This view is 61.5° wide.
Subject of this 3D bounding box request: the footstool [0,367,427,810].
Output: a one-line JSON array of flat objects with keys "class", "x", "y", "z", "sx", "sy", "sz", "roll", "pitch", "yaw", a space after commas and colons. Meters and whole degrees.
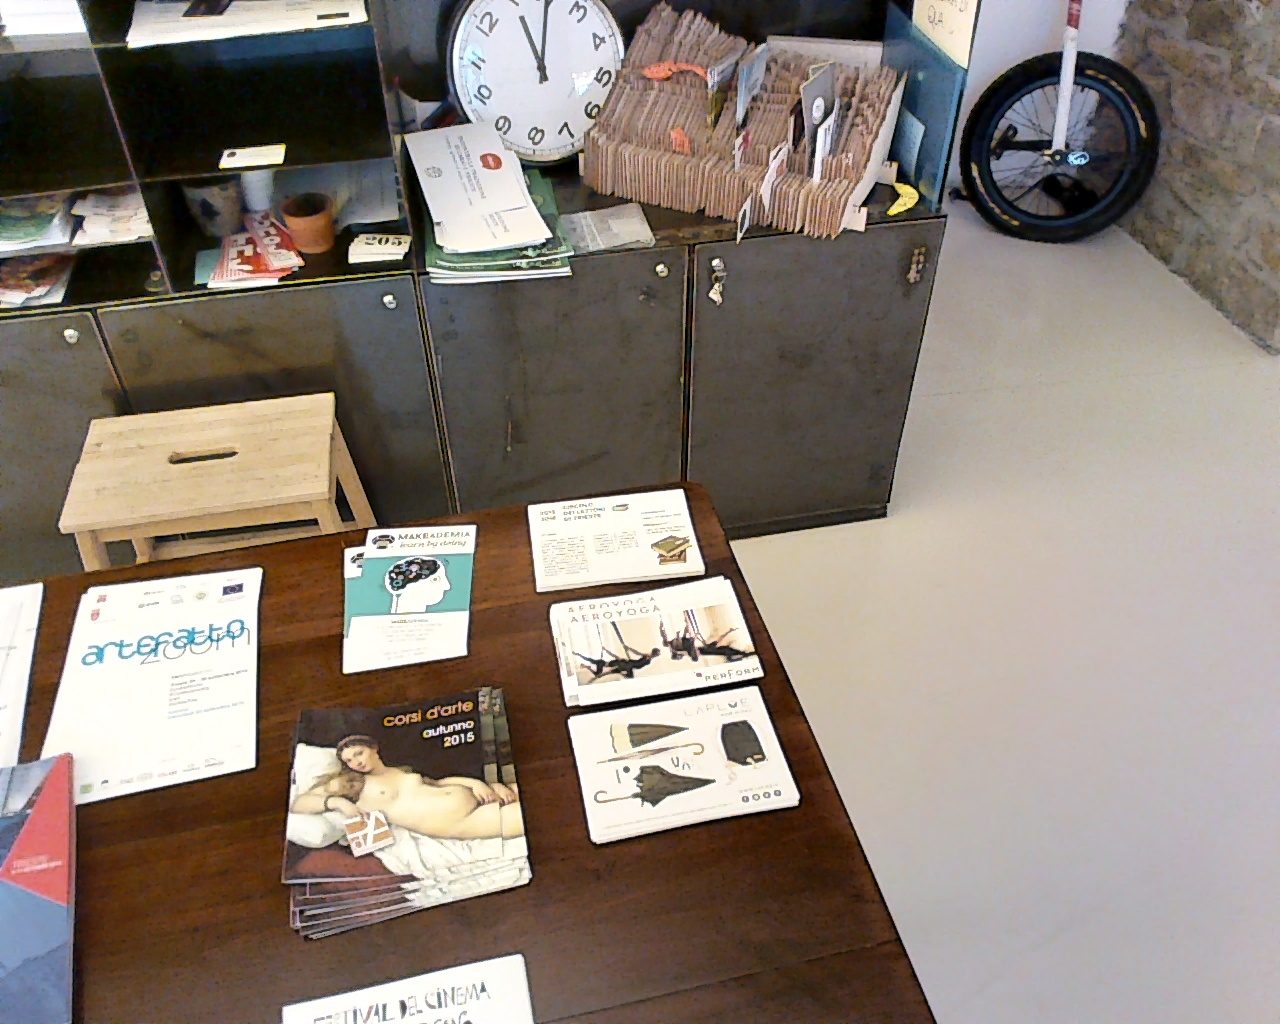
[{"class": "footstool", "x": -0.620, "y": 0.120, "z": 1.700, "sx": 0.470, "sy": 0.510, "sz": 0.390, "roll": -8, "pitch": 42, "yaw": -8}]
